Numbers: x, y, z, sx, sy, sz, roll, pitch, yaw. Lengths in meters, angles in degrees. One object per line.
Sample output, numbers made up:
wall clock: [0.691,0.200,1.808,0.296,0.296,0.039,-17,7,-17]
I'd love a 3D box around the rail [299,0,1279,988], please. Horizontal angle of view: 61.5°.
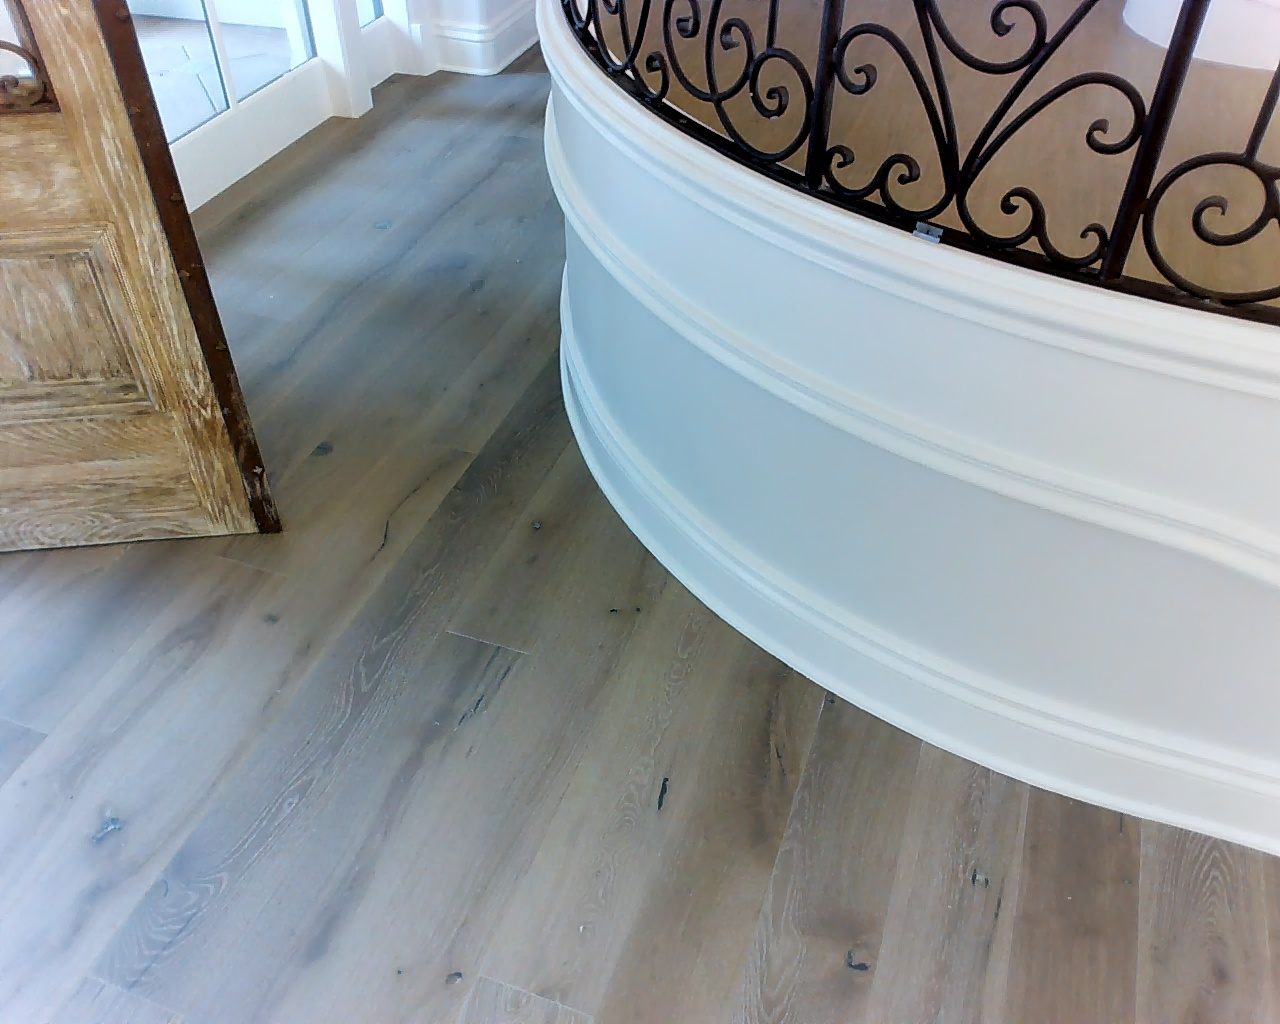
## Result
rail: [0.640,-0.160,1.910,2.880,0.960,0.720,31,51,30]
